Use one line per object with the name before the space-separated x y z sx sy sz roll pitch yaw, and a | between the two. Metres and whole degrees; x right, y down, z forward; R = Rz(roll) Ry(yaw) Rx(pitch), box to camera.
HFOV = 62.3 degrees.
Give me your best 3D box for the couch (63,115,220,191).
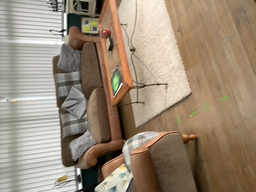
couch | 0.040 0.790 1.820 0.980 0.960 0.940 137 126 -60
